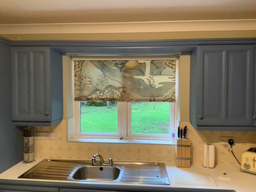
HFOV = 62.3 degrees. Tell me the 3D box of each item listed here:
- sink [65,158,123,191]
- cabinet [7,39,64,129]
[{"bbox_3d":[-0.300,0.790,2.070,0.460,0.180,0.490,0,3,5],"label":"sink"},{"bbox_3d":[-0.930,-0.120,2.180,0.430,0.850,0.300,0,3,5],"label":"cabinet"}]
